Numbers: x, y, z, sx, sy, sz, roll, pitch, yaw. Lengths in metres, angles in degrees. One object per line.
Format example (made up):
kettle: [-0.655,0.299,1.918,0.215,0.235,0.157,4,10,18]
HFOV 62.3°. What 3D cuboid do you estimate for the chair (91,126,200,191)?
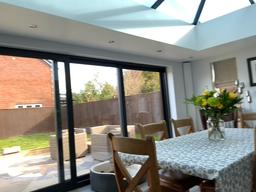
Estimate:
chair: [0.150,0.730,1.530,0.610,0.950,0.470,-1,-4,-42]

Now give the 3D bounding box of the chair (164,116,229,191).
chair: [0.830,0.740,2.590,0.540,0.940,0.450,-7,-4,43]
